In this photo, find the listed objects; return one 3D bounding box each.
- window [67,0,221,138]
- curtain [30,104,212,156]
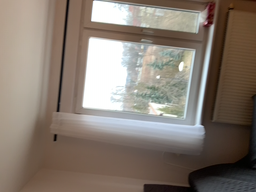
[{"bbox_3d":[0.170,-0.370,2.480,0.180,1.550,1.540,-110,27,-86],"label":"window"},{"bbox_3d":[-0.070,0.370,2.360,0.250,1.900,0.290,-94,11,-81],"label":"curtain"}]
